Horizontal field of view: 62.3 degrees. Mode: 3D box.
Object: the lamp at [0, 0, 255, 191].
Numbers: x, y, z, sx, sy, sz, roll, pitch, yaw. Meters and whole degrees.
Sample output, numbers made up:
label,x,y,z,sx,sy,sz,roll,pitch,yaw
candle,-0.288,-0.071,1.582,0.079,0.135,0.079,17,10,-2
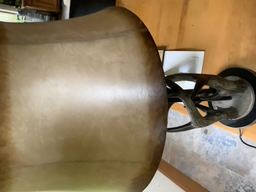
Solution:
label,x,y,z,sx,sy,sz,roll,pitch,yaw
lamp,0.060,0.010,0.580,0.460,0.790,0.420,22,109,55
